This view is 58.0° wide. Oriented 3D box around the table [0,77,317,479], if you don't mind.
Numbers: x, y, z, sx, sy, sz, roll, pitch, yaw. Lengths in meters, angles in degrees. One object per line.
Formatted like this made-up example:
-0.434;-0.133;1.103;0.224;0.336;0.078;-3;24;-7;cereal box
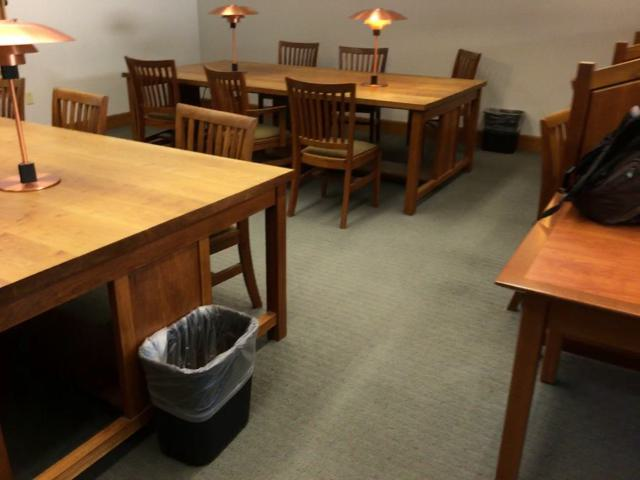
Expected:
-1.630;-0.080;2.500;2.810;0.980;1.590;13;26;31;table

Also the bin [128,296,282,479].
-0.360;0.470;1.910;0.280;0.390;0.390;13;26;31;bin

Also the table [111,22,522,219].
0.000;-1.240;4.960;2.740;1.130;1.990;13;26;31;table
